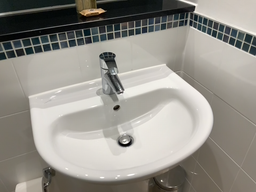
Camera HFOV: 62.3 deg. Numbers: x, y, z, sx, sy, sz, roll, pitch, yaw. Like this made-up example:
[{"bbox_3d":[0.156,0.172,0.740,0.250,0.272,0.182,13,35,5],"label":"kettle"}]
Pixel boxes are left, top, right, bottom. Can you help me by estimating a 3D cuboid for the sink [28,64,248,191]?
[{"bbox_3d":[0.000,0.110,0.710,0.560,0.170,0.410,-15,38,-18],"label":"sink"}]
